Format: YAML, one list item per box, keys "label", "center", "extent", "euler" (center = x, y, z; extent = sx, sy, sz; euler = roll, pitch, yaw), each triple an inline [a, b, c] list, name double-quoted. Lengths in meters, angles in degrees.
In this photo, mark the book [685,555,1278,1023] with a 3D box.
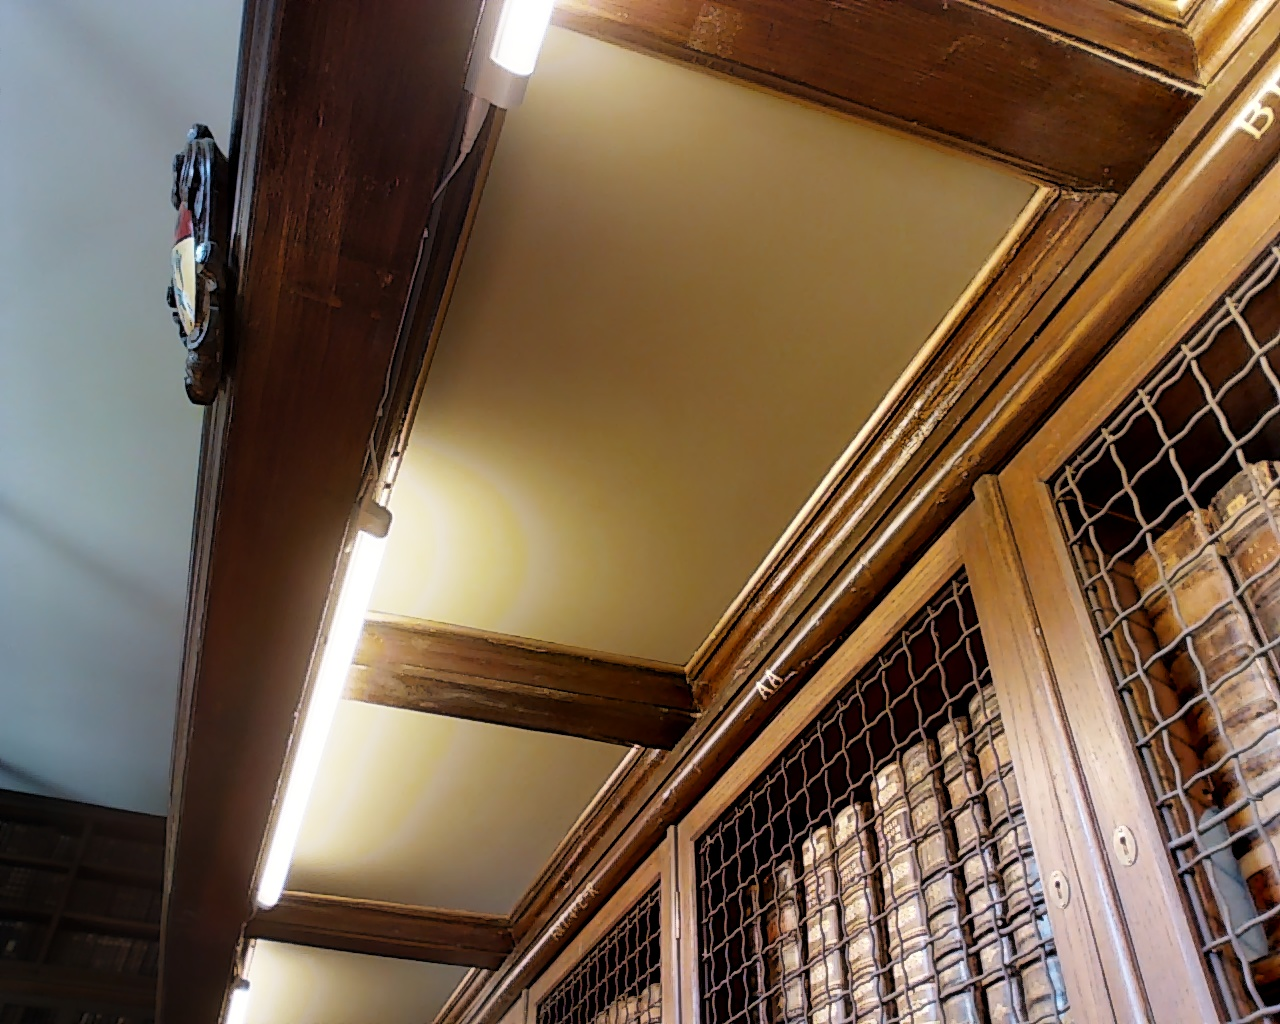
- label: "book"
  center: [0.290, 0.410, 1.190]
  extent: [0.220, 0.370, 0.660]
  euler: [16, -43, -16]
